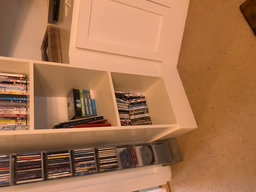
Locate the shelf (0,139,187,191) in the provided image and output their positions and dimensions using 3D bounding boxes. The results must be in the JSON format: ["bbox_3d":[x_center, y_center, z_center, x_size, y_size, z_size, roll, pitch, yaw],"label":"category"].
[{"bbox_3d":[-0.160,0.410,1.310,0.220,1.220,0.150,-42,53,49],"label":"shelf"}]

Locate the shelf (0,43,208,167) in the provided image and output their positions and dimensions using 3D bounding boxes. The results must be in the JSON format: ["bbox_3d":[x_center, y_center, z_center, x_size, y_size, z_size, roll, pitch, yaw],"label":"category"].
[{"bbox_3d":[-0.470,0.080,1.130,0.470,1.960,0.450,-42,53,49],"label":"shelf"}]
